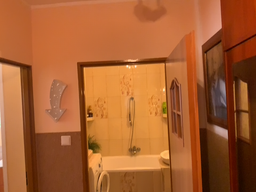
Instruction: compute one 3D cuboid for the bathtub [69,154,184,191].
[{"bbox_3d":[-0.010,1.390,3.550,1.740,0.610,0.680,-2,0,5],"label":"bathtub"}]
